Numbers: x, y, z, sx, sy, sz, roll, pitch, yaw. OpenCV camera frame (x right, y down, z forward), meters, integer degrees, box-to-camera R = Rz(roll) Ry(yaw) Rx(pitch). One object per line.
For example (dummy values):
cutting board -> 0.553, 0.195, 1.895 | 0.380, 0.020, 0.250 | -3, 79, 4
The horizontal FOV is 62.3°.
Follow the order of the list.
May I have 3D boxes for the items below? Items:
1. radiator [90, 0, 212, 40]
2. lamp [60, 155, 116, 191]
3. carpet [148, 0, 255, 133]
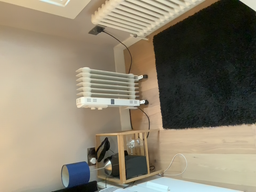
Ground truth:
radiator -> 0.210, -0.610, 1.340 | 0.890, 0.510, 0.070 | -18, 75, 49
lamp -> -0.290, 0.560, 1.570 | 0.180, 0.350, 0.180 | -21, 73, 48
carpet -> 0.510, -0.150, 1.510 | 0.870, 0.040, 0.760 | -17, 76, 49
